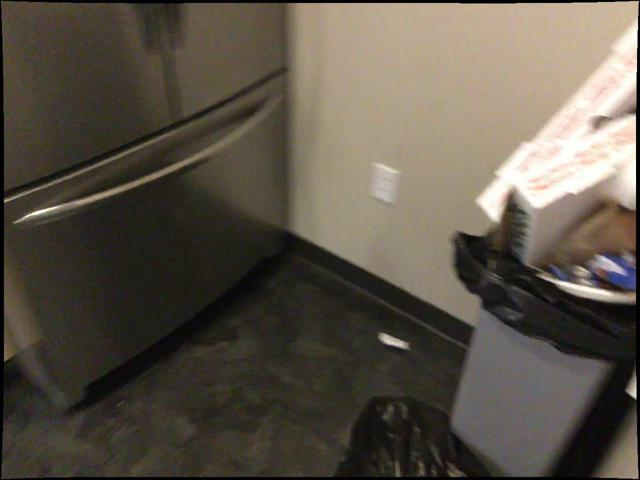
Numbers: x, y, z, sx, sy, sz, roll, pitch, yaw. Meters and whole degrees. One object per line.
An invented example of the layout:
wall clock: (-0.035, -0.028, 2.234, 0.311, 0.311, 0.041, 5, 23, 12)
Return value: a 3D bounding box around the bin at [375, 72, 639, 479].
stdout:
bin: (0.479, 0.190, 1.250, 0.380, 0.871, 0.550, 30, 47, 28)
